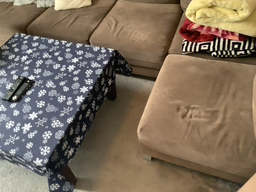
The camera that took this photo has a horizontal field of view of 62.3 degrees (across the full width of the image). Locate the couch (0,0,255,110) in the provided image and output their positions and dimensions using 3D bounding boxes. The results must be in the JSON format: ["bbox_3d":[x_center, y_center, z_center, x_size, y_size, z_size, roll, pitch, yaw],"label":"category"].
[{"bbox_3d":[-0.170,-0.870,2.080,3.130,0.840,1.130,12,53,15],"label":"couch"}]

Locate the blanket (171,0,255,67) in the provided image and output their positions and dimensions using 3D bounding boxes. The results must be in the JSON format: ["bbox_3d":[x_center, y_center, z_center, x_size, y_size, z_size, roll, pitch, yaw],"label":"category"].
[{"bbox_3d":[0.780,-0.620,1.540,0.750,0.400,0.660,14,53,16],"label":"blanket"}]

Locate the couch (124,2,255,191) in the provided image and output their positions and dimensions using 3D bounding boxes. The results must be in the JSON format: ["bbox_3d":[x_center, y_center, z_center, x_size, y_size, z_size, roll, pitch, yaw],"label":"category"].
[{"bbox_3d":[0.570,0.050,1.270,0.920,0.800,0.700,15,53,17],"label":"couch"}]
